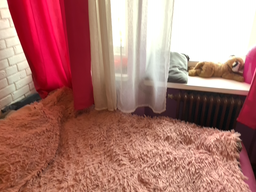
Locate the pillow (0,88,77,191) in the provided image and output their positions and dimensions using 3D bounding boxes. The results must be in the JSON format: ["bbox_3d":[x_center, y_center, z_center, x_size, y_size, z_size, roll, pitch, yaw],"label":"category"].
[{"bbox_3d":[-0.790,0.250,1.370,0.520,0.210,0.920,7,27,13],"label":"pillow"}]
